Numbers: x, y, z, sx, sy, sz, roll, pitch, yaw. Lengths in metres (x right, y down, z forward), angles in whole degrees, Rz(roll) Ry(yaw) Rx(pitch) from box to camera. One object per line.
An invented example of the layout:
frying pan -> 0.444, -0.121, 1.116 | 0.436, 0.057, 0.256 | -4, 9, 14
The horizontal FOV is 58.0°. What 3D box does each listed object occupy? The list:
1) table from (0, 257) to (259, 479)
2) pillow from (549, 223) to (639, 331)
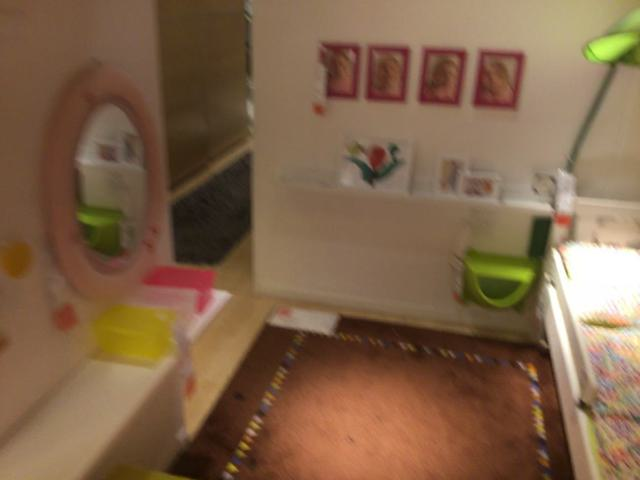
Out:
table -> -0.410, 0.310, 1.330 | 0.210, 0.210, 0.820 | 8, 24, 17
pillow -> 1.210, 0.140, 1.970 | 0.750, 0.180, 0.440 | 7, 24, 15
